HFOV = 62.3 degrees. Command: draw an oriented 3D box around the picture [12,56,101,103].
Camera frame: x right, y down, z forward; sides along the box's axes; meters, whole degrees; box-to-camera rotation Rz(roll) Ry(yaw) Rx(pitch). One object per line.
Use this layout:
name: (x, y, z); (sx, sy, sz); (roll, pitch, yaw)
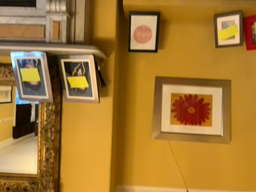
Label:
picture: (-0.430, -0.100, 1.320); (0.490, 0.260, 0.170); (2, -178, -1)

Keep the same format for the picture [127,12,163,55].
picture: (0.130, -0.490, 1.690); (0.260, 0.280, 0.180); (2, -178, 0)
